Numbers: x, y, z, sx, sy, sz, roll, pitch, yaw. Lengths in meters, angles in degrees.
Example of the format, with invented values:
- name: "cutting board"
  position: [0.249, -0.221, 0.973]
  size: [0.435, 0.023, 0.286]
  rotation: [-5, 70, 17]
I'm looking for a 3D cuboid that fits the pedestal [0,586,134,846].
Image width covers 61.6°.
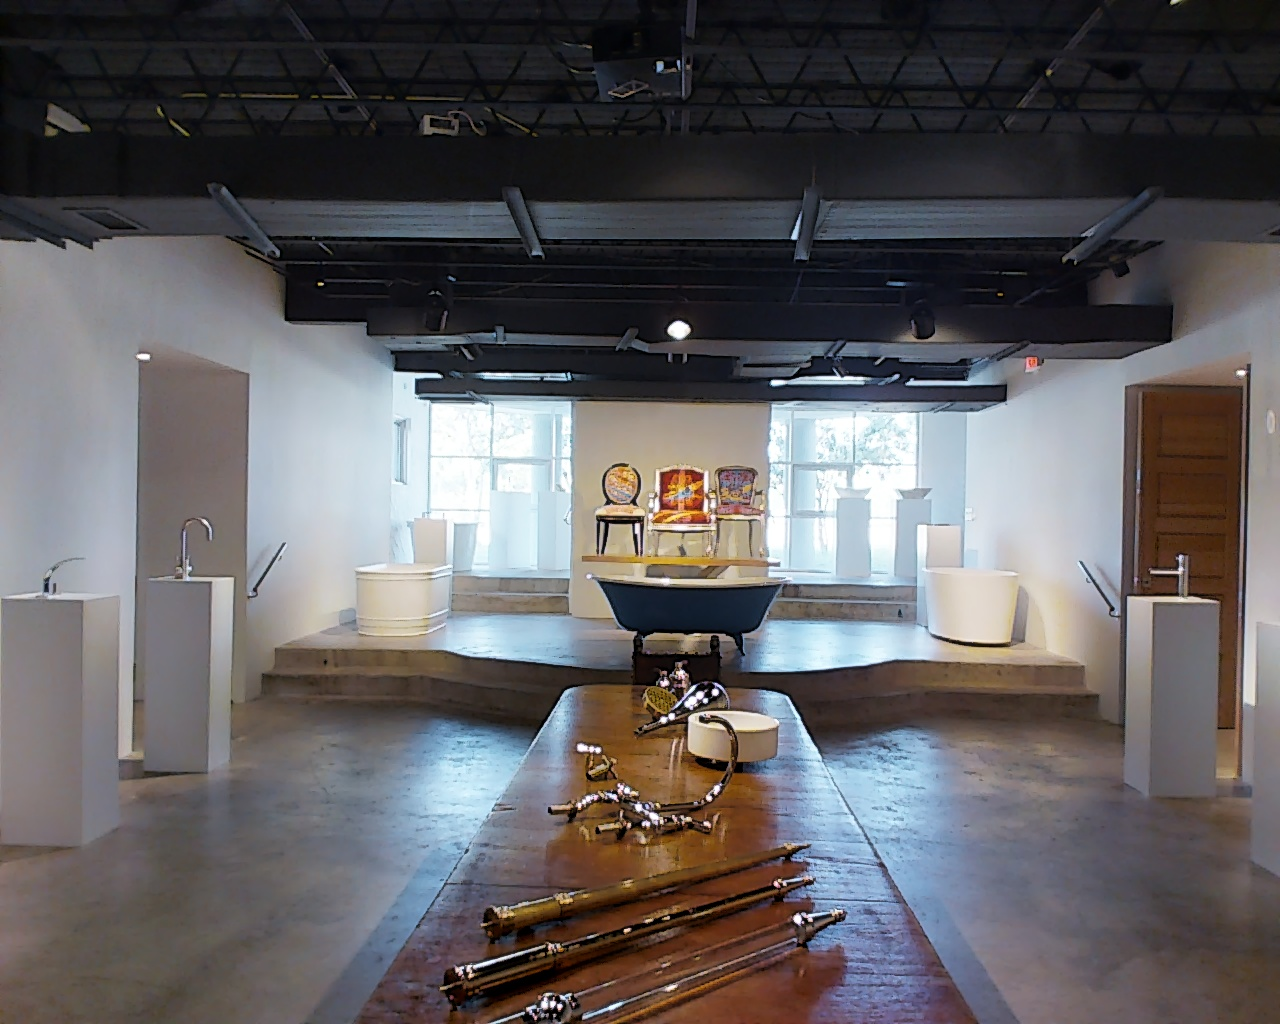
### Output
- name: "pedestal"
  position: [-2.570, 0.890, 4.800]
  size: [0.420, 1.080, 0.360]
  rotation: [1, 0, 2]

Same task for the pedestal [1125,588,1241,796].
- name: "pedestal"
  position: [3.030, 0.990, 6.010]
  size: [0.450, 1.090, 0.360]
  rotation: [1, 0, 2]
